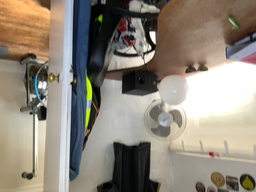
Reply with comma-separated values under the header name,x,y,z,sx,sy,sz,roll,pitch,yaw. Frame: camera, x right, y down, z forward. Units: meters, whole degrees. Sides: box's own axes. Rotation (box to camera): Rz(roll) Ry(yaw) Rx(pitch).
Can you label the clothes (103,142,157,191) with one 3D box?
name,x,y,z,sx,sy,sz,roll,pitch,yaw
clothes,0.030,0.820,1.710,0.490,0.850,0.100,6,169,-39
